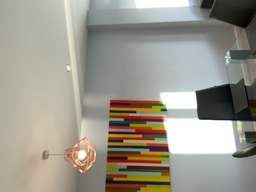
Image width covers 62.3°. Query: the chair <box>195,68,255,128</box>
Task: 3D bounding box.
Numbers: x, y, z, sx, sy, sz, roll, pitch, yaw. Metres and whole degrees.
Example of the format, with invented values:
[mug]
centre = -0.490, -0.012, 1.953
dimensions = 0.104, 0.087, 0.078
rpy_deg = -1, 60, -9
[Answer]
[chair]
centre = 1.230, 0.040, 2.030
dimensions = 0.520, 0.990, 0.410
rpy_deg = 83, -172, -68
